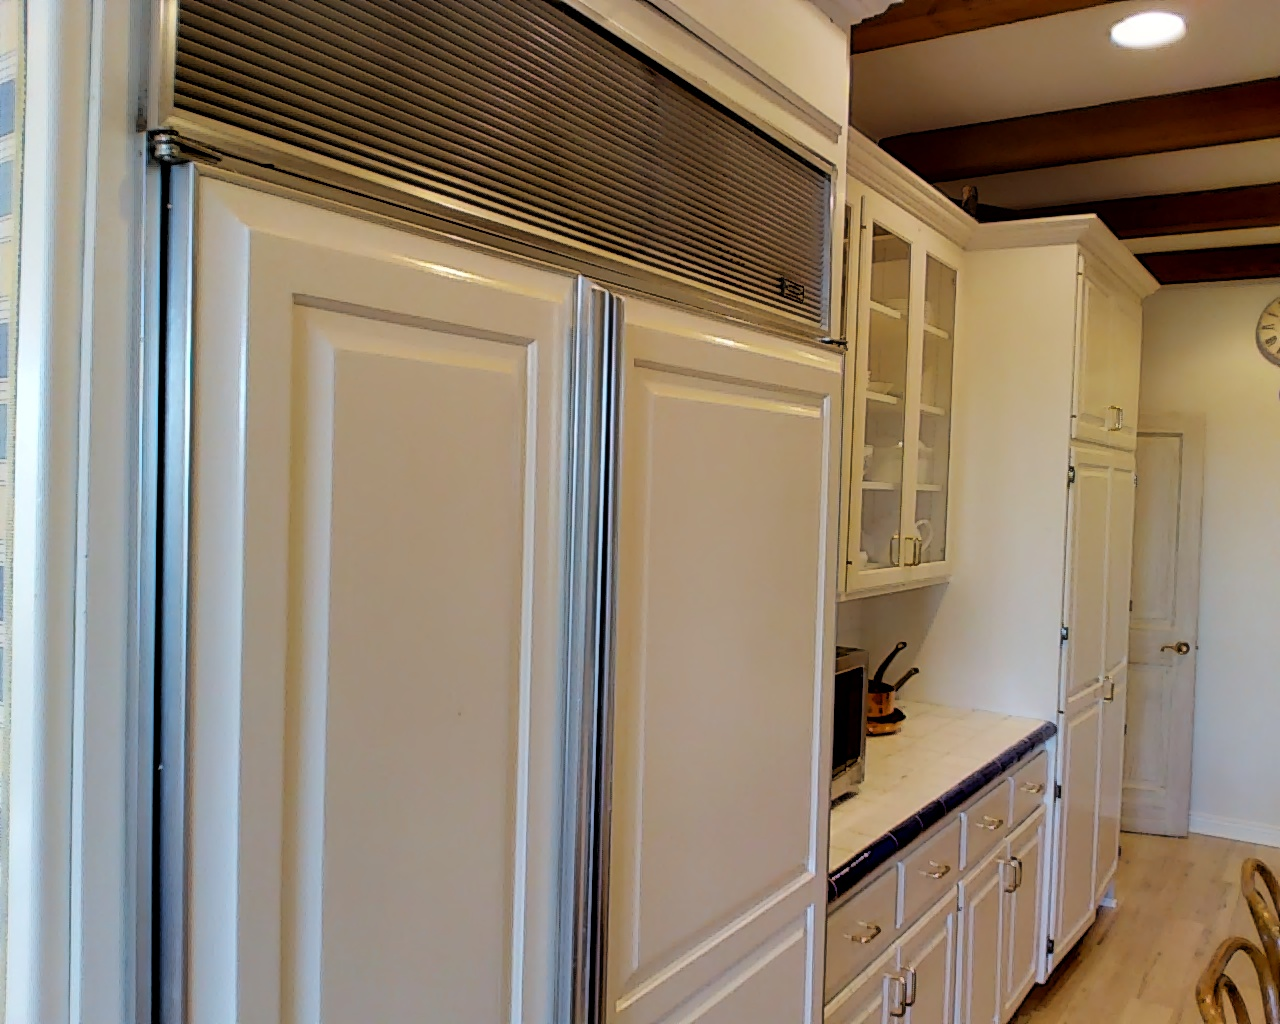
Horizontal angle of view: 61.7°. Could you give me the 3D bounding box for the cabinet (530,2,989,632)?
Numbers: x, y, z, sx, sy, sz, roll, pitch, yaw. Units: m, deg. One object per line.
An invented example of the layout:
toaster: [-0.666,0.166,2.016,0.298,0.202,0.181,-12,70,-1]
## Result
cabinet: [0.450,-0.370,2.840,0.350,1.170,1.800,3,2,35]
